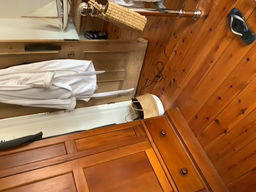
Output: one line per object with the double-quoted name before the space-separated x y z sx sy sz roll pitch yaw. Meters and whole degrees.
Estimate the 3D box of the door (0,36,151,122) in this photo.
"door" -0.720 -0.180 2.150 0.110 1.970 0.840 55 144 42
